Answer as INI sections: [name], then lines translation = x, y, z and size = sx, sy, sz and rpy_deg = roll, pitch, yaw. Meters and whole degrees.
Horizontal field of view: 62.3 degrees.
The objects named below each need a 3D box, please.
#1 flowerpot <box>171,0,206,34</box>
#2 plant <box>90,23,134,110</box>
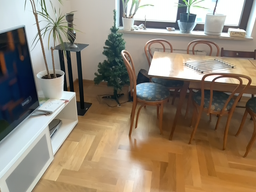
[flowerpot]
translation = 0.780, -1.070, 2.740
size = 0.360, 0.470, 0.180
rpy_deg = 9, 29, 12
[plant]
translation = -0.190, -0.400, 2.850
size = 0.460, 1.000, 0.540
rpy_deg = 4, 28, 4
